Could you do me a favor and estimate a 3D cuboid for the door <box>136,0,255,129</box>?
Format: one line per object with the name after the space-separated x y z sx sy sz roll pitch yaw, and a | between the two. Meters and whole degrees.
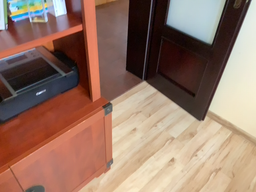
0.460 -0.710 1.450 0.780 2.120 0.070 34 48 30 | door
